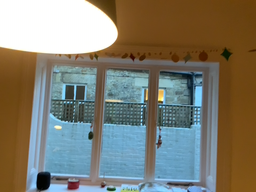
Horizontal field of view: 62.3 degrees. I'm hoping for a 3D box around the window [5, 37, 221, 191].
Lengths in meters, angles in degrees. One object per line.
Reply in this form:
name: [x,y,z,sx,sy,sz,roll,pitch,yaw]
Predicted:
window: [-0.130,0.240,2.520,2.240,1.620,0.460,3,-3,-1]
